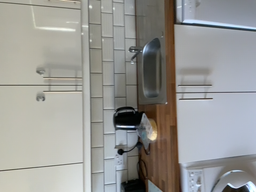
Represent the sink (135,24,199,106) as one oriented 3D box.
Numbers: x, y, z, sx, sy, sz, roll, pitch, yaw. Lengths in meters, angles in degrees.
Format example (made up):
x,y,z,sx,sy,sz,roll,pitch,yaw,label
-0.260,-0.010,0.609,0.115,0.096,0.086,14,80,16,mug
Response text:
x,y,z,sx,sy,sz,roll,pitch,yaw,label
0.270,-0.190,1.620,0.510,0.260,0.520,176,93,-72,sink
